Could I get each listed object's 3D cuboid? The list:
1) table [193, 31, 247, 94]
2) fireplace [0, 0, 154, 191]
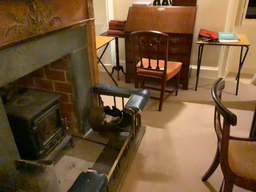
[{"bbox_3d":[1.230,-0.480,2.930,0.530,0.700,0.460,9,29,17],"label":"table"},{"bbox_3d":[-0.670,-0.080,1.570,1.380,1.320,1.580,8,29,16],"label":"fireplace"}]
